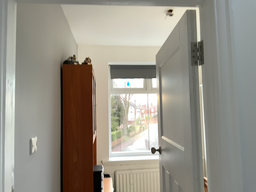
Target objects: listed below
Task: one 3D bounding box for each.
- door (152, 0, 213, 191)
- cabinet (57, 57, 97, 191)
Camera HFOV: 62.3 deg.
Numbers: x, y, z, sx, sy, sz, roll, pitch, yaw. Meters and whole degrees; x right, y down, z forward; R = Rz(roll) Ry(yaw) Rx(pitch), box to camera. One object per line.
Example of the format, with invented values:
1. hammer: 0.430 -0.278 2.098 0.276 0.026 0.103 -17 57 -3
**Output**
1. door: 0.270 0.570 1.210 0.040 1.970 0.860 -1 -4 -5
2. cabinet: -0.510 0.320 2.270 0.290 1.280 0.860 -1 -4 -6
